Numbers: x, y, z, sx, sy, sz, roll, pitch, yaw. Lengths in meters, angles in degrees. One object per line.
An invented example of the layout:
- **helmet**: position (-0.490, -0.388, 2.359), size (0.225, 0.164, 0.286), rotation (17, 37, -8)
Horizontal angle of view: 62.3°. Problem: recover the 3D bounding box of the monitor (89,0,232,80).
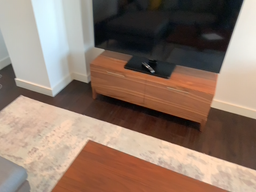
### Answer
- **monitor**: position (0.190, -0.620, 1.850), size (1.170, 0.750, 0.070), rotation (17, 40, 17)
